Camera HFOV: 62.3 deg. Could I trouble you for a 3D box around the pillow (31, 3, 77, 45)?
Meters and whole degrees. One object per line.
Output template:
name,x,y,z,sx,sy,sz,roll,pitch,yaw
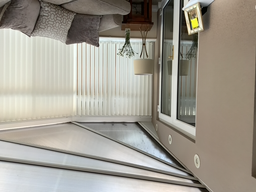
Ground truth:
pillow,-1.030,-1.040,3.020,0.180,0.480,0.570,26,-144,32

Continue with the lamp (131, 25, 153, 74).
lamp,0.230,-0.790,3.710,0.330,0.790,0.290,1,-178,-5

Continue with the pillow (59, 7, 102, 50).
pillow,-0.740,-1.070,3.380,0.620,0.590,0.230,-5,-136,-13

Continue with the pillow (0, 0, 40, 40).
pillow,-1.400,-1.070,2.660,0.190,0.560,0.490,11,-145,14

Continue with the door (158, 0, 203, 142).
door,0.650,-0.630,2.990,0.070,2.100,1.840,1,-178,-2
